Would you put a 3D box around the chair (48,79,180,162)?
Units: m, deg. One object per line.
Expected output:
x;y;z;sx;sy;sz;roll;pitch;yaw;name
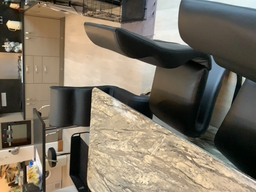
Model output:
-0.140;0.140;1.980;0.630;1.010;0.460;27;115;53;chair
